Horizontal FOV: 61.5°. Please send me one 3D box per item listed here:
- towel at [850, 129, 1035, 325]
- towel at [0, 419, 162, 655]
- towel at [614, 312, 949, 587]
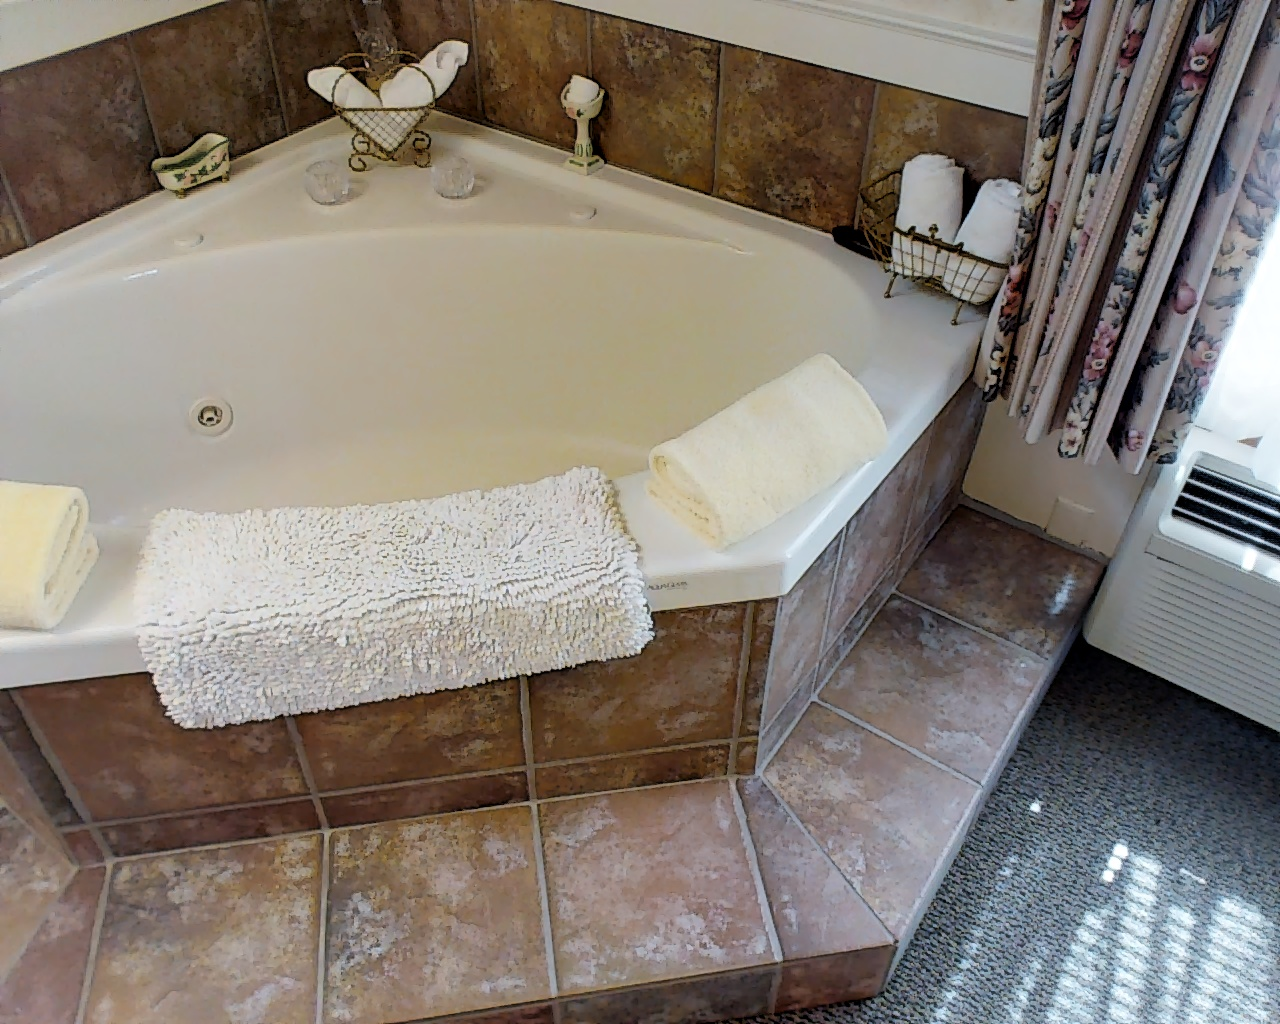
[{"bbox_3d":[0.490,-0.470,1.770,0.220,0.230,0.120,28,48,25],"label":"towel"},{"bbox_3d":[-0.800,0.030,1.260,0.370,0.180,0.210,-2,42,-5],"label":"towel"},{"bbox_3d":[0.190,-0.100,1.440,0.390,0.120,0.240,-32,52,-33],"label":"towel"}]
